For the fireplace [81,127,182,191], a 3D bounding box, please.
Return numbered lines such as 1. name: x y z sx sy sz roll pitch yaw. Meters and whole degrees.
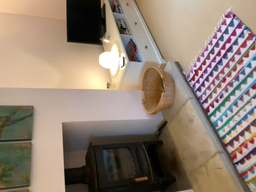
1. fireplace: 0.000 0.620 1.960 0.320 0.760 0.550 112 150 -43
